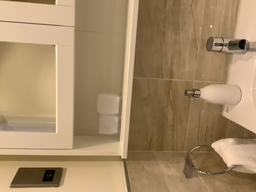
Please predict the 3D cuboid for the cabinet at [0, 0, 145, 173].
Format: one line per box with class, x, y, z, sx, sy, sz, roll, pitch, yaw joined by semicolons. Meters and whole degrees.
cabinet;-0.470;-0.200;0.620;0.160;1.010;0.840;-123;37;-76
